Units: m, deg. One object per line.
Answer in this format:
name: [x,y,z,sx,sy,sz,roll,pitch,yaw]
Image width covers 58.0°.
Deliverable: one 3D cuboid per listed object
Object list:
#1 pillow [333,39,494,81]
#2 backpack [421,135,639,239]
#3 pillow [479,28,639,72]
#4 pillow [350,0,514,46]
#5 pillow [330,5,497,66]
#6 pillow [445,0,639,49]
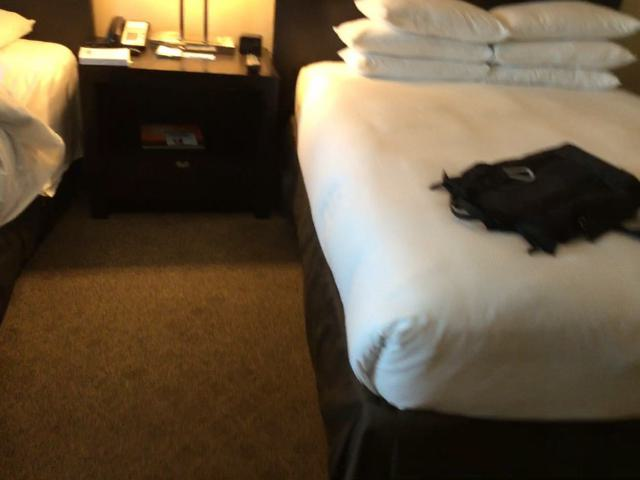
pillow: [0.390,-0.800,2.550,0.600,0.090,0.420,-2,28,-9]
backpack: [0.540,-0.140,1.360,0.500,0.110,0.360,-2,28,-9]
pillow: [1.010,-0.800,2.430,0.640,0.140,0.140,-2,28,-9]
pillow: [0.450,-0.960,2.450,0.560,0.180,0.420,-2,28,-9]
pillow: [0.380,-0.890,2.500,0.610,0.180,0.400,-2,28,-9]
pillow: [0.970,-0.980,2.520,0.710,0.200,0.410,-2,28,-9]
